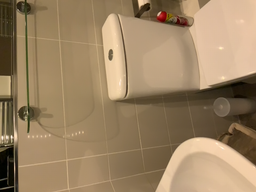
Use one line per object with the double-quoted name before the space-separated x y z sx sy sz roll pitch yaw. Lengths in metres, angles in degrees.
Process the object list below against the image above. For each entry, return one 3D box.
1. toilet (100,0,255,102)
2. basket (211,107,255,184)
"toilet" 0.400 -0.240 0.880 0.640 0.820 0.380 -27 67 59
"basket" 0.660 0.250 1.020 0.380 0.240 0.220 47 131 51
